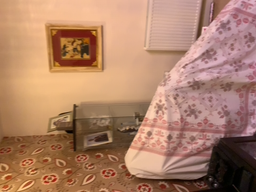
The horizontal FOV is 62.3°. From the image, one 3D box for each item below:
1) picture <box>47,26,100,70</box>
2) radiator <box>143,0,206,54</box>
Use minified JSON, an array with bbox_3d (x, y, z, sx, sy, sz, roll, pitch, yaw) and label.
[{"bbox_3d":[-0.590,-0.520,2.350,0.020,0.550,0.460,-122,32,-67],"label":"picture"},{"bbox_3d":[0.530,-0.920,2.400,0.100,0.660,0.850,-122,32,-67],"label":"radiator"}]
